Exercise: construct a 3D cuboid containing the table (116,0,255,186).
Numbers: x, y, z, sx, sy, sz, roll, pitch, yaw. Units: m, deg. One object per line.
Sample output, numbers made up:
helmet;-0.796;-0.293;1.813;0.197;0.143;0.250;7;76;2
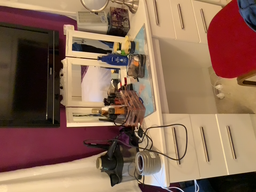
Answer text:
table;0.410;-0.080;1.590;0.510;0.790;1.270;139;129;-63
